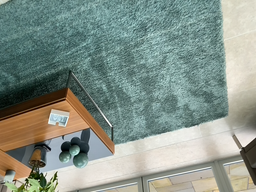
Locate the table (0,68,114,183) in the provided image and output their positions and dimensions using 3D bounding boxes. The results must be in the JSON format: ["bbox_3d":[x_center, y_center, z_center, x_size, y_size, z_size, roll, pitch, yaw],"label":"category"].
[{"bbox_3d":[-0.940,0.360,1.900,1.420,0.340,0.790,-16,135,12],"label":"table"}]

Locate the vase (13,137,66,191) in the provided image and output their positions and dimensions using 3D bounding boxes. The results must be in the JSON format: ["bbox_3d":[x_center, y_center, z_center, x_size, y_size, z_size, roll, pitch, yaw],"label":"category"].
[{"bbox_3d":[-0.680,0.590,1.680,0.220,0.420,0.230,-15,135,10],"label":"vase"}]
